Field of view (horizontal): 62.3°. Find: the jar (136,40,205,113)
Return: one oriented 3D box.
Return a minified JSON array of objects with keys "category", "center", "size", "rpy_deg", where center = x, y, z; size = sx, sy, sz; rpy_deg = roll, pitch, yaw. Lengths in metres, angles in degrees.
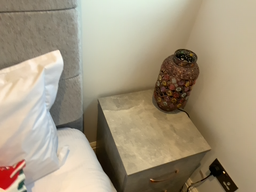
[{"category":"jar","center":[0.180,-0.090,0.990],"size":[0.200,0.270,0.160],"rpy_deg":[-12,48,-22]}]
